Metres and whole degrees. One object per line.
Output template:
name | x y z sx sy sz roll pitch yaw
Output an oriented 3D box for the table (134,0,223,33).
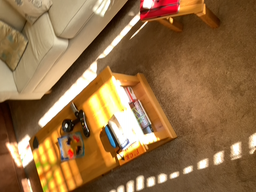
table | 0.340 -0.690 1.310 0.390 0.410 0.480 9 96 36
